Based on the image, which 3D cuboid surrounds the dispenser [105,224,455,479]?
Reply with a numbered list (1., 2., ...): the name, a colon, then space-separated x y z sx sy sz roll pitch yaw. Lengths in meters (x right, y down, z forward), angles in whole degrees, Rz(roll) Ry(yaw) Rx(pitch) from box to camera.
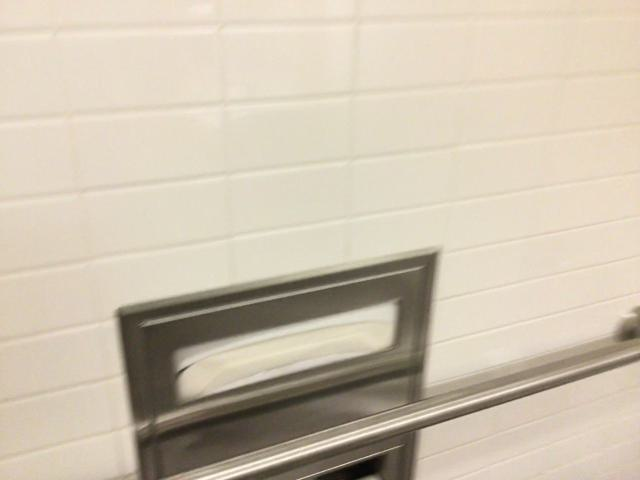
1. dispenser: -0.030 0.370 0.880 0.430 0.740 0.100 -11 25 -18
